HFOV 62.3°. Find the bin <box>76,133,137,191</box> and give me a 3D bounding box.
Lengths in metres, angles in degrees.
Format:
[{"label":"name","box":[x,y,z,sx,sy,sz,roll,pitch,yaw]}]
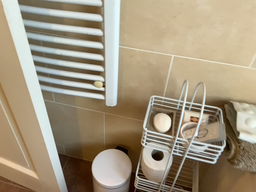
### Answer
[{"label":"bin","box":[-0.090,0.360,0.980,0.190,0.240,0.240,13,42,8]}]
